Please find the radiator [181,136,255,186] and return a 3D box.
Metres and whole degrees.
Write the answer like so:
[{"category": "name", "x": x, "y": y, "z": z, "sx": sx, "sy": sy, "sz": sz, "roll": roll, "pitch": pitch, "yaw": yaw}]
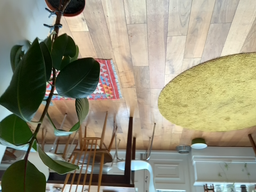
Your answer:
[{"category": "radiator", "x": 1.330, "y": 0.930, "z": 3.030, "sx": 1.060, "sy": 0.590, "sz": 0.340, "roll": -3, "pitch": 147, "yaw": 10}]
